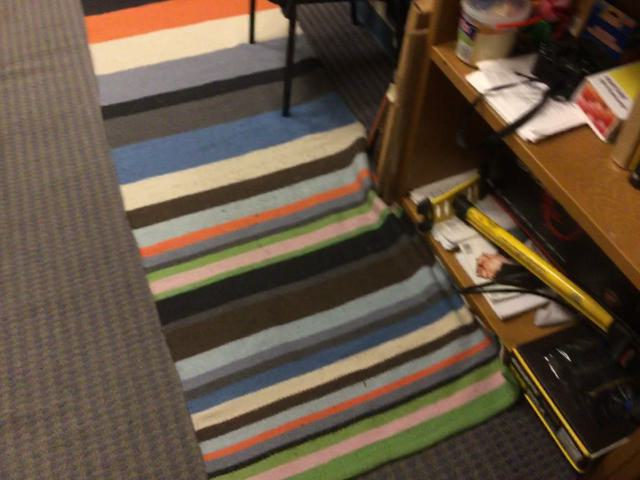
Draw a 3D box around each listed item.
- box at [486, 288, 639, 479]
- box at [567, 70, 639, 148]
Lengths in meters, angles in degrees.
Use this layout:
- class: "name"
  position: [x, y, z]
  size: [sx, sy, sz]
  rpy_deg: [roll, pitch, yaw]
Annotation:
- class: "box"
  position: [0.590, 0.310, 1.290]
  size: [0.270, 0.150, 0.300]
  rpy_deg: [-20, 58, -19]
- class: "box"
  position: [0.550, -0.250, 1.100]
  size: [0.070, 0.080, 0.110]
  rpy_deg: [-20, 58, -19]
